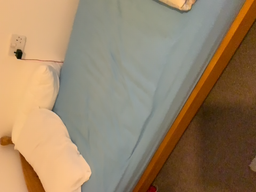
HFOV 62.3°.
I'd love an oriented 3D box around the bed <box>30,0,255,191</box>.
[{"bbox_3d":[0.040,-0.200,1.280,1.020,0.500,2.040,44,119,38],"label":"bed"}]
